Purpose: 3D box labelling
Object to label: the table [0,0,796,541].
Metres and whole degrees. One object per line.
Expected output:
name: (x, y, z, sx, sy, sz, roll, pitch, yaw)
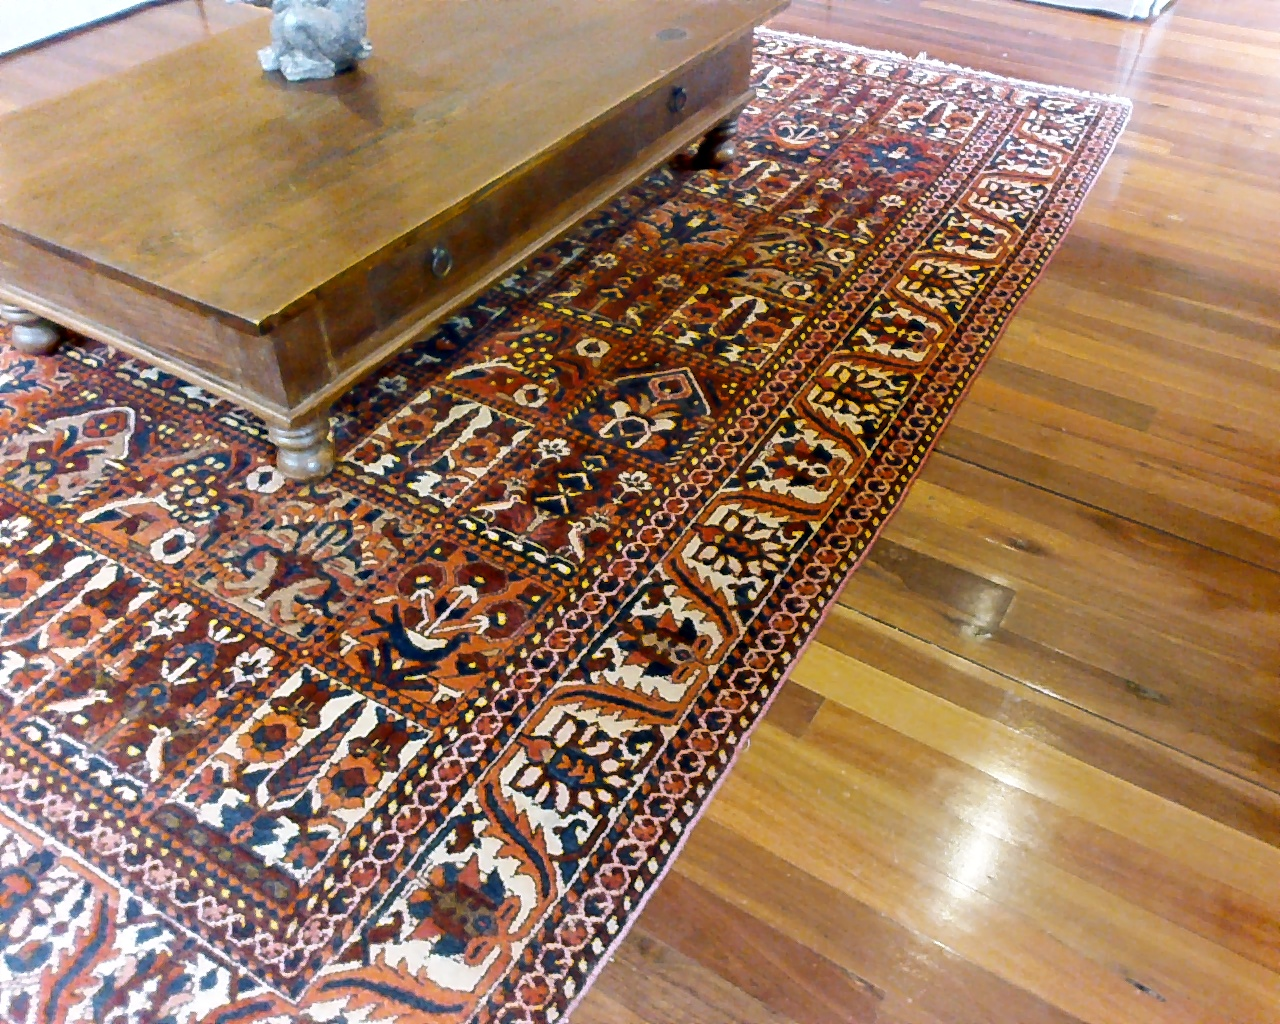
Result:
table: (-0.460, -0.710, 2.190, 0.910, 0.380, 1.580, 23, 47, 22)
